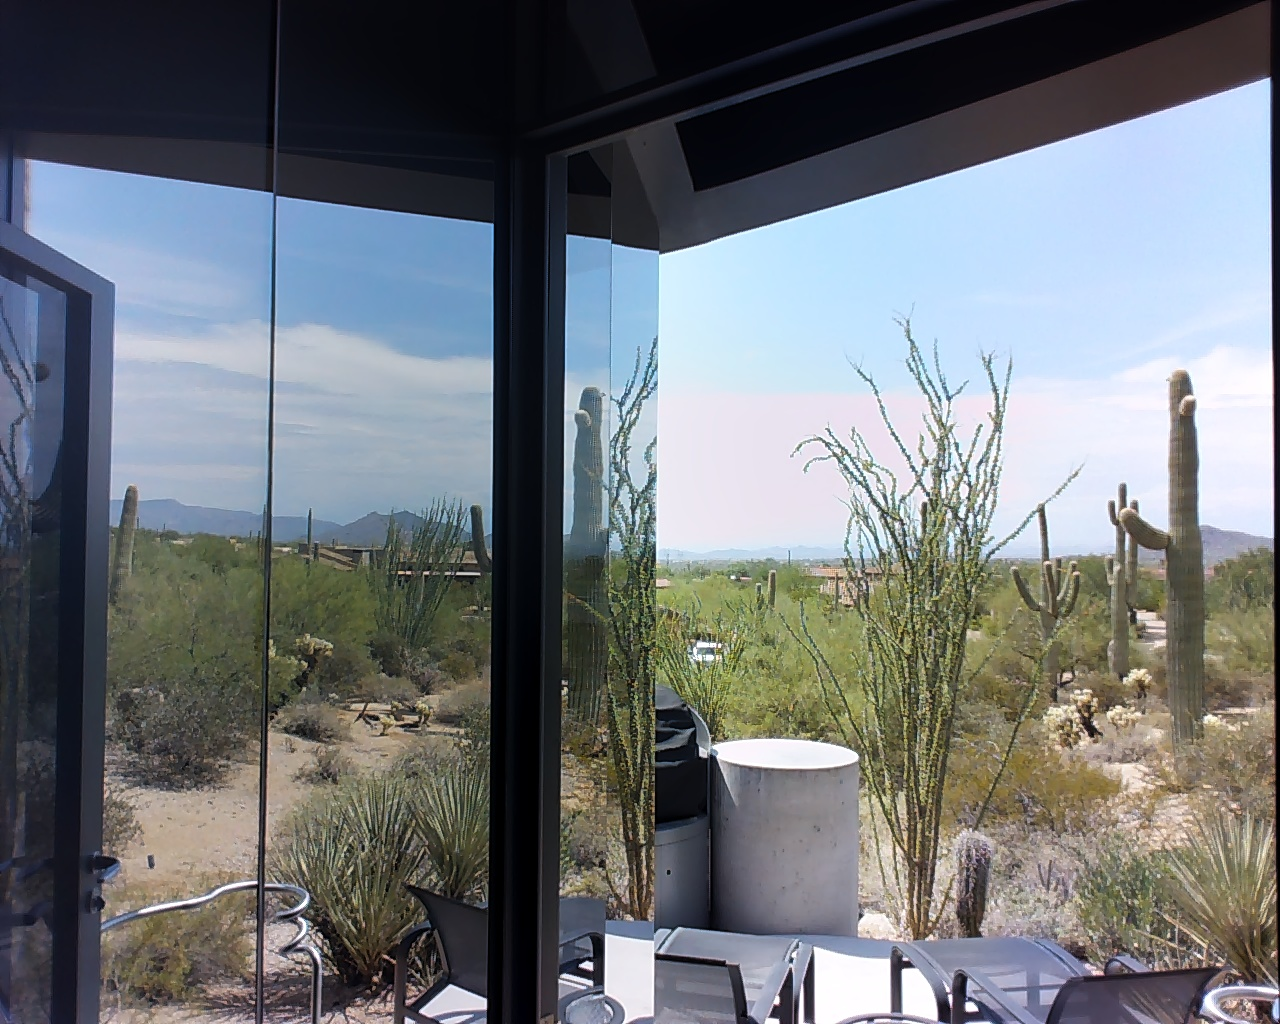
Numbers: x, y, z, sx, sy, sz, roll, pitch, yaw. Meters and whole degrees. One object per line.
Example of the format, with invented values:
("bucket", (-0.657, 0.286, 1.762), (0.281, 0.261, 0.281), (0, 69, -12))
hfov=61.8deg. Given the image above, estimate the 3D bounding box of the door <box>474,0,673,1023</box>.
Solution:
("door", (-0.090, 0.500, 1.530), (0.170, 2.621, 0.340), (0, -2, 13))
